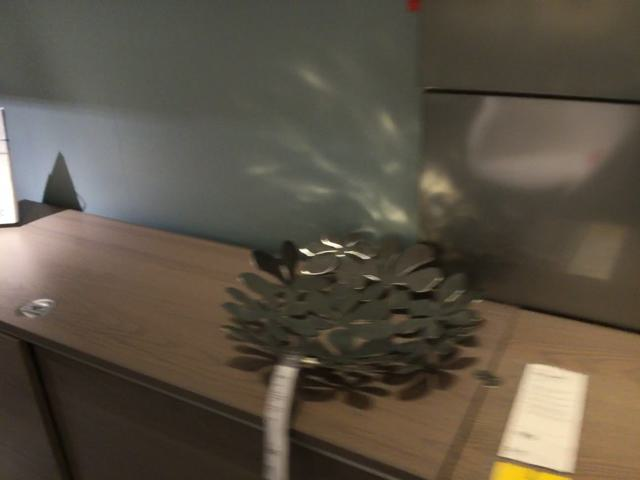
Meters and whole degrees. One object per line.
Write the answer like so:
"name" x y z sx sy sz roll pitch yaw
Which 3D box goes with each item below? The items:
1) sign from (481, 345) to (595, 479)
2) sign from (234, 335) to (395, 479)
"sign" 0.300 0.230 0.770 0.100 0.020 0.300 9 23 26
"sign" -0.010 0.260 0.780 0.140 0.210 0.110 19 11 30
